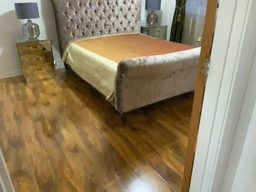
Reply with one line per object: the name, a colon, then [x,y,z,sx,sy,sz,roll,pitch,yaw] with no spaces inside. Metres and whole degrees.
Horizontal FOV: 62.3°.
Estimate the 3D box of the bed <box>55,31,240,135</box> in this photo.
bed: [0.050,-0.520,3.430,1.700,0.560,2.550,-15,30,-28]
